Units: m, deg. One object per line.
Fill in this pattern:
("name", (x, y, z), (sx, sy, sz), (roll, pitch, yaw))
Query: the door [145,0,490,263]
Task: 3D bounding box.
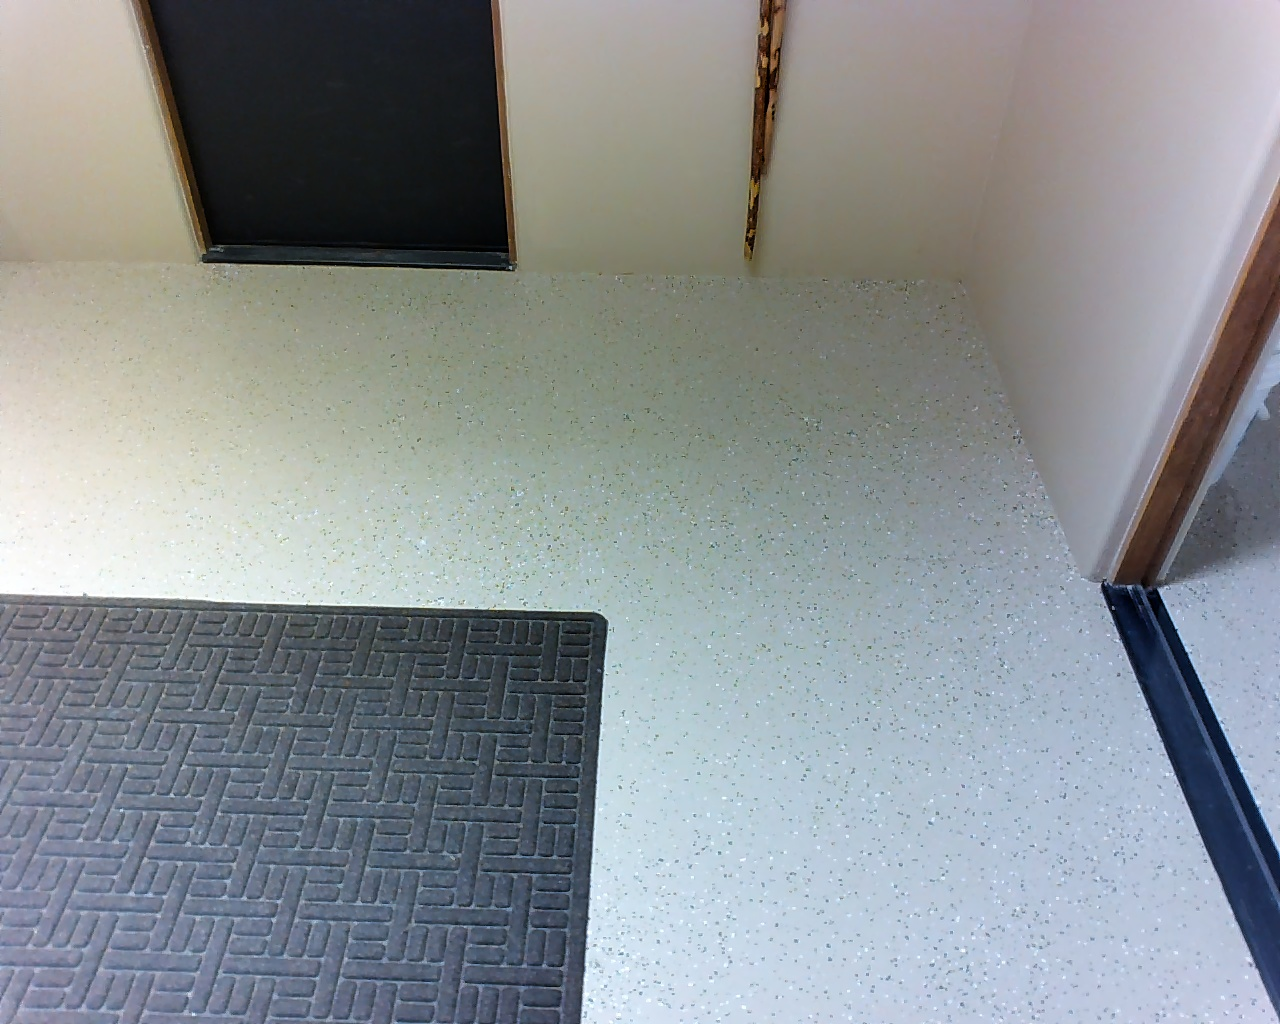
("door", (-0.820, -1.470, 2.480), (0.790, 1.930, 0.050), (1, 41, 0))
